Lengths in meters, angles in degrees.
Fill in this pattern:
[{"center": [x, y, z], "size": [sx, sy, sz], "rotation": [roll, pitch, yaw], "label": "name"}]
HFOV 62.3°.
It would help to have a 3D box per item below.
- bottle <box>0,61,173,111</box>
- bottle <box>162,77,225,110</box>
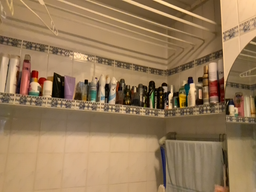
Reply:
[{"center": [-0.180, -0.030, 1.370], "size": [1.120, 0.140, 0.130], "rotation": [8, -12, -29], "label": "bottle"}, {"center": [0.390, 0.000, 1.350], "size": [0.100, 0.130, 0.450], "rotation": [7, -12, -25], "label": "bottle"}]
